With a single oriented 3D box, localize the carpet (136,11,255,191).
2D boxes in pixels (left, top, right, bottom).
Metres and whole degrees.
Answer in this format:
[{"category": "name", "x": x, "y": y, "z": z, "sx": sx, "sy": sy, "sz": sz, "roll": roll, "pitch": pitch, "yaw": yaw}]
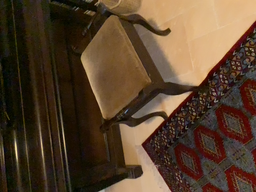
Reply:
[{"category": "carpet", "x": 0.690, "y": 0.190, "z": 1.100, "sx": 1.430, "sy": 0.020, "sz": 0.970, "roll": -51, "pitch": 58, "yaw": 31}]
